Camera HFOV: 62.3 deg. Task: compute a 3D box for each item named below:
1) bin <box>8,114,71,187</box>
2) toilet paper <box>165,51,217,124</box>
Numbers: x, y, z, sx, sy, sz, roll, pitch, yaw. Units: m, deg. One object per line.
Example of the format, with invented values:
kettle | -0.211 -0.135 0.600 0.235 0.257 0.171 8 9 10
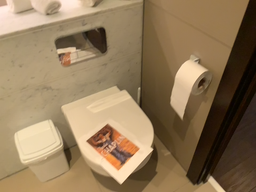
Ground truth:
bin | -0.500 0.320 1.230 0.210 0.360 0.180 -22 47 -20
toilet paper | 0.250 -0.030 0.890 0.110 0.270 0.120 -22 47 -20
